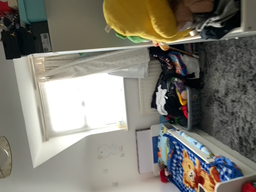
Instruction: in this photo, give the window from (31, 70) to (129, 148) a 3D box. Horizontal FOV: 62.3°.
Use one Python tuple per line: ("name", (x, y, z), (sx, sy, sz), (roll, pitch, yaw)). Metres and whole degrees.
("window", (-0.620, 0.170, 2.960), (0.070, 1.210, 0.940), (-145, 49, -73))
